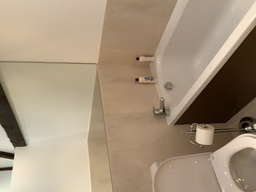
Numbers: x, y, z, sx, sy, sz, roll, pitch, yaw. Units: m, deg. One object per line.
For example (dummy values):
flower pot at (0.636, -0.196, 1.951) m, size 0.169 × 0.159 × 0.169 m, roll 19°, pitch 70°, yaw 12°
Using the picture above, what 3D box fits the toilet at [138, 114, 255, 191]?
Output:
toilet at (0.610, 0.450, 1.280) m, size 0.650 × 0.890 × 0.390 m, roll 111°, pitch 153°, yaw -50°

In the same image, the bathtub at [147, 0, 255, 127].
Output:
bathtub at (0.730, -0.510, 1.400) m, size 1.650 × 0.580 × 0.710 m, roll 112°, pitch 152°, yaw -51°
